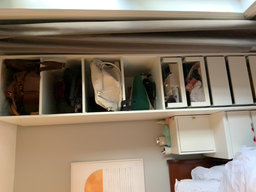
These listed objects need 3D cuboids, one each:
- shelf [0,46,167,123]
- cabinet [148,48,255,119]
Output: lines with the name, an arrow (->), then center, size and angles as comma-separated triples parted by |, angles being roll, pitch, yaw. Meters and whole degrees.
shelf -> -0.410, -0.070, 1.940 | 0.600, 1.350, 0.540 | 116, 152, -76
cabinet -> 0.790, -0.090, 2.080 | 0.600, 1.060, 0.540 | 116, 152, -76
